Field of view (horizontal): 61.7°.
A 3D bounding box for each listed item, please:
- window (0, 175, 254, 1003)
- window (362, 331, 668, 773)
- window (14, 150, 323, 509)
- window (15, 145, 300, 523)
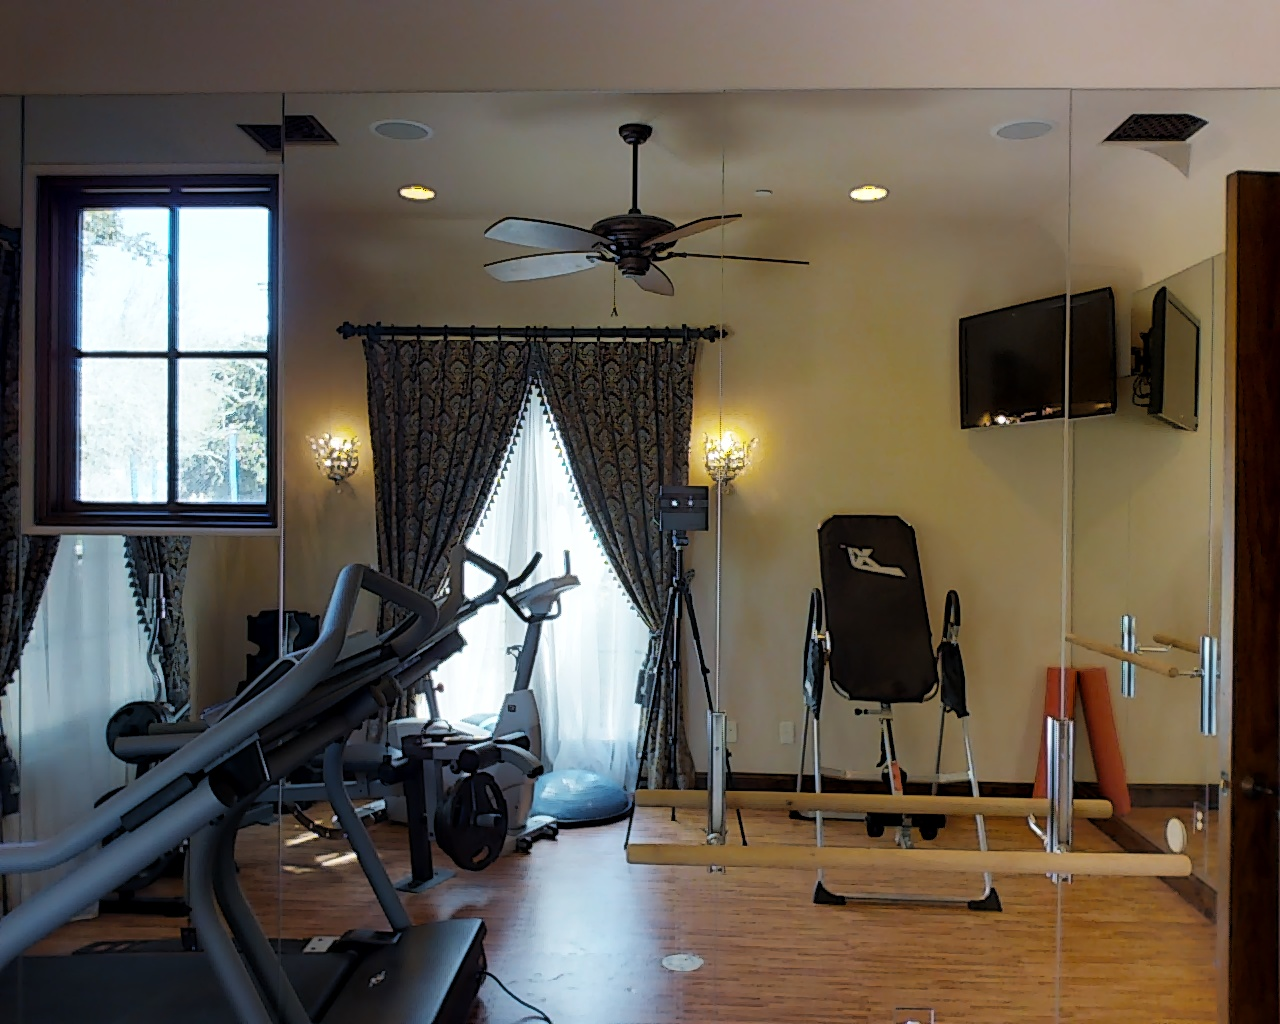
[{"bbox_3d":[-2.170,0.240,4.400,0.290,2.680,2.150,0,1,3],"label":"window"},{"bbox_3d":[-0.670,0.210,5.910,1.640,2.350,0.360,0,1,3],"label":"window"},{"bbox_3d":[-1.190,-0.440,2.750,0.650,0.860,0.320,0,1,3],"label":"window"},{"bbox_3d":[-1.180,-0.430,2.620,0.690,0.910,0.040,0,1,3],"label":"window"}]
